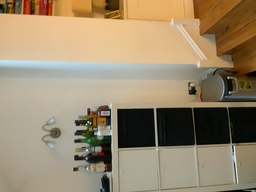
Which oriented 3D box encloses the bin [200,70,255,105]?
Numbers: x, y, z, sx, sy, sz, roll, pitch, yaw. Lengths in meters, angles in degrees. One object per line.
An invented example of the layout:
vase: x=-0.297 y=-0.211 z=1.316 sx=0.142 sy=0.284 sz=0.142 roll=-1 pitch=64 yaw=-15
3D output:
bin: x=1.040 y=-0.070 z=2.100 sx=0.350 sy=0.490 sz=0.290 roll=145 pitch=123 yaw=-78
